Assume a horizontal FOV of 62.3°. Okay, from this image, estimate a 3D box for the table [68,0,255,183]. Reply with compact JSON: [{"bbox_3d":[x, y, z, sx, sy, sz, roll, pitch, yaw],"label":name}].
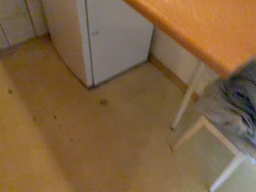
[{"bbox_3d":[0.190,-0.180,1.090,0.620,0.880,0.740,-31,62,-26],"label":"table"}]
